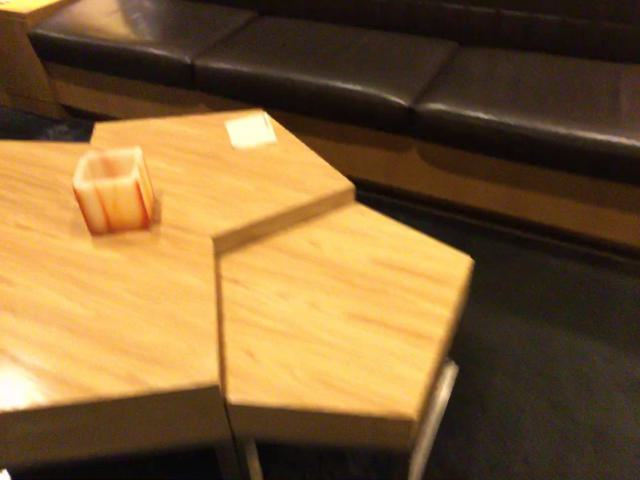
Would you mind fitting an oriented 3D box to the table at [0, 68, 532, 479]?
[{"bbox_3d":[-0.430,0.110,1.560,1.600,0.500,1.220,16,43,24],"label":"table"}]

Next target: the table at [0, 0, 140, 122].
[{"bbox_3d":[-1.380,-0.990,2.860,0.560,0.550,0.580,12,42,27],"label":"table"}]

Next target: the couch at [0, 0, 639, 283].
[{"bbox_3d":[0.020,-0.720,2.190,2.710,0.880,0.690,16,43,24],"label":"couch"}]
